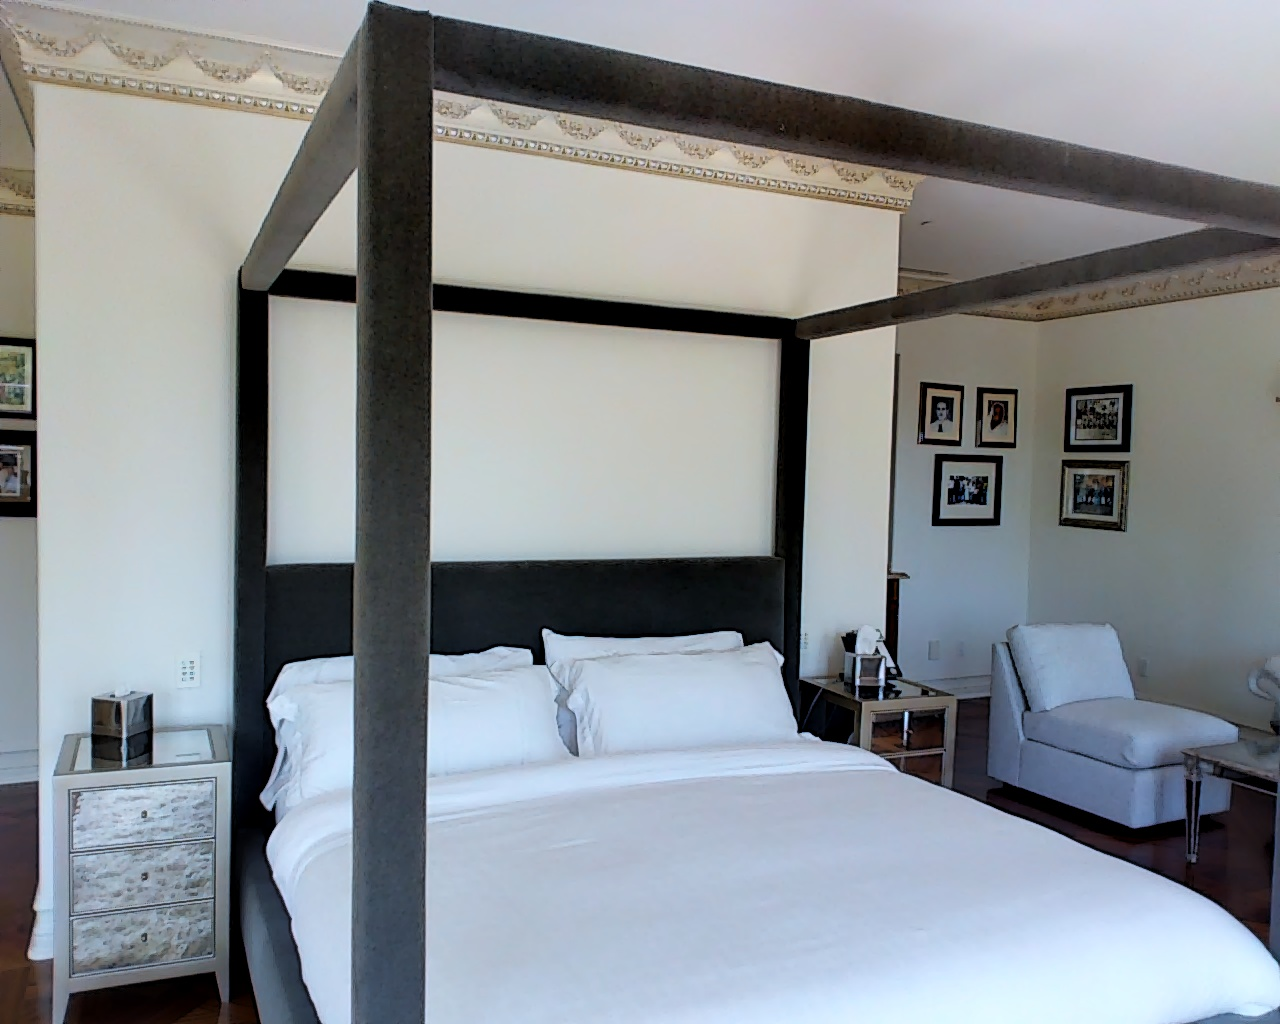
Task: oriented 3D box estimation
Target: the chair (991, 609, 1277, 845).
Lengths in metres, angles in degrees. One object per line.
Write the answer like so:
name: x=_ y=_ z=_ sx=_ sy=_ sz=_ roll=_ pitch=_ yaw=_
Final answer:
chair: x=2.409 y=1.000 z=5.320 sx=0.770 sy=0.890 sz=0.990 roll=0 pitch=3 yaw=-25
